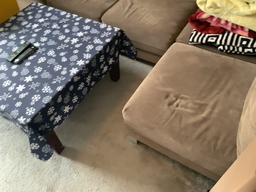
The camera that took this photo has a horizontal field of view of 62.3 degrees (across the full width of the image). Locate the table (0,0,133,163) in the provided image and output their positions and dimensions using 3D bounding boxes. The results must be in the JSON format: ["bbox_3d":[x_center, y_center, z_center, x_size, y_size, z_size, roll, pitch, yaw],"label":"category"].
[{"bbox_3d":[-0.640,-0.230,1.680,0.920,0.500,1.030,27,59,23],"label":"table"}]
